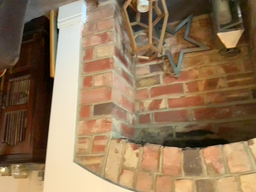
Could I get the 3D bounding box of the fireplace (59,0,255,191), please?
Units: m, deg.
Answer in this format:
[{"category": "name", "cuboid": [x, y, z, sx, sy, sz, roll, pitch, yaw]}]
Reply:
[{"category": "fireplace", "cuboid": [0.270, -0.100, 1.130, 1.070, 1.140, 0.460, -8, 161, 19]}]
